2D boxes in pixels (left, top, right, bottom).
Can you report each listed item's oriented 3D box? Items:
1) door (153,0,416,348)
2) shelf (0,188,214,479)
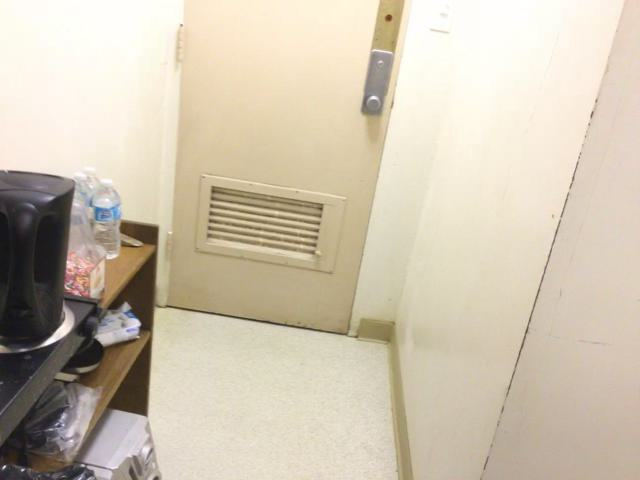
[{"bbox_3d":[-0.160,-0.450,2.200,0.860,1.780,0.100,9,20,1],"label":"door"},{"bbox_3d":[-0.570,0.420,1.280,0.360,0.770,1.100,9,20,1],"label":"shelf"}]
